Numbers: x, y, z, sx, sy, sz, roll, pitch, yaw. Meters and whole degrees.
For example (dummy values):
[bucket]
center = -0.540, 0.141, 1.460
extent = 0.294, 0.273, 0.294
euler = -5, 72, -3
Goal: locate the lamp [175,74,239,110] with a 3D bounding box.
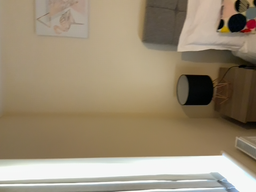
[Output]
[lamp]
center = 0.640, -0.040, 1.770
extent = 0.260, 0.400, 0.240
euler = -128, 41, -76
